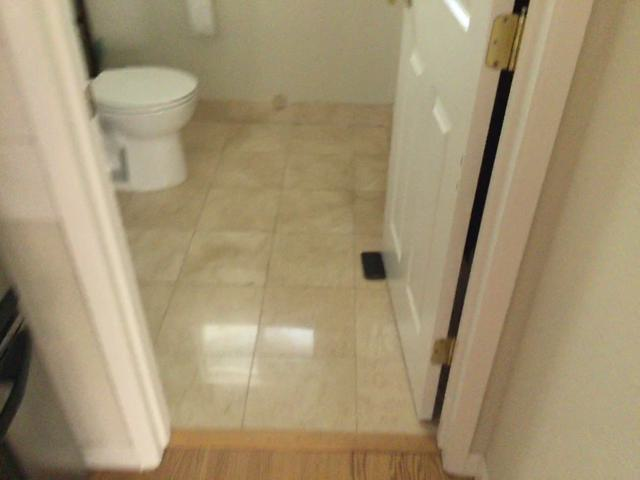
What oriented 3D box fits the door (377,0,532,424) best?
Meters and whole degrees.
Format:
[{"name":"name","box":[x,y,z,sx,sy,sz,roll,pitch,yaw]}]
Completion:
[{"name":"door","box":[0.270,-0.440,1.310,0.090,1.770,0.740,-1,37,-2]}]

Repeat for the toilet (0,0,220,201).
[{"name":"toilet","box":[-0.840,-0.600,2.310,0.730,0.740,0.480,0,37,0]}]
